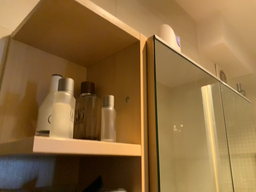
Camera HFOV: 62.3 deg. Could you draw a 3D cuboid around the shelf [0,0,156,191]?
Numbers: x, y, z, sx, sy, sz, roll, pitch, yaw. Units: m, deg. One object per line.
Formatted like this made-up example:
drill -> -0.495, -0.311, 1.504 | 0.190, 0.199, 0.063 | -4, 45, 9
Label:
shelf -> -0.090, 0.170, 0.350 | 0.190, 0.650, 0.200 | -16, -26, 41
